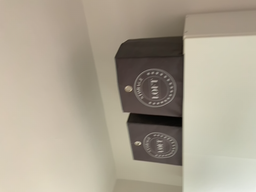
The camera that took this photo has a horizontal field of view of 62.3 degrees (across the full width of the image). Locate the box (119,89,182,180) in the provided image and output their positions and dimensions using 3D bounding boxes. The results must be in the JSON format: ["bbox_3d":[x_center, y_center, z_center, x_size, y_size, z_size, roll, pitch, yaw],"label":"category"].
[{"bbox_3d":[0.180,0.220,1.390,0.460,0.320,0.360,-64,-29,-56],"label":"box"}]

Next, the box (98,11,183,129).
[{"bbox_3d":[0.130,-0.180,1.190,0.580,0.330,0.440,-65,-28,-56],"label":"box"}]
